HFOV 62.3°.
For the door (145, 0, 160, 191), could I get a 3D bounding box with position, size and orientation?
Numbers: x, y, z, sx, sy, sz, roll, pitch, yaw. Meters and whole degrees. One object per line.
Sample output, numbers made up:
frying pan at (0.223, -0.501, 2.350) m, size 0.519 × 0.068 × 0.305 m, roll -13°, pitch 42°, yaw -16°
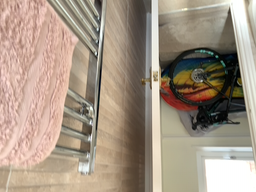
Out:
door at (0.160, -0.010, 1.380) m, size 0.060 × 2.120 × 0.710 m, roll 0°, pitch 160°, yaw 7°
